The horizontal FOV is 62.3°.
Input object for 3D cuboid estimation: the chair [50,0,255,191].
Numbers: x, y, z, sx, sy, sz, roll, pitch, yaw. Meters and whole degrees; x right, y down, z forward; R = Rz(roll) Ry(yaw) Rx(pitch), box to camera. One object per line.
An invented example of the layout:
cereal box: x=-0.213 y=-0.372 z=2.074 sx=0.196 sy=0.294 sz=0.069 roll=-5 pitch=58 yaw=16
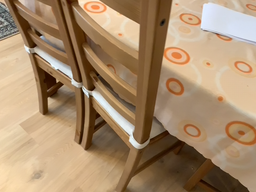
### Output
chair: x=0.060 y=-0.050 z=0.850 sx=0.520 sy=1.000 sz=0.360 roll=-29 pitch=61 yaw=-30
